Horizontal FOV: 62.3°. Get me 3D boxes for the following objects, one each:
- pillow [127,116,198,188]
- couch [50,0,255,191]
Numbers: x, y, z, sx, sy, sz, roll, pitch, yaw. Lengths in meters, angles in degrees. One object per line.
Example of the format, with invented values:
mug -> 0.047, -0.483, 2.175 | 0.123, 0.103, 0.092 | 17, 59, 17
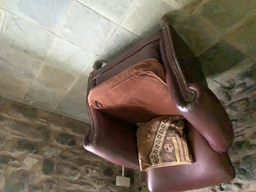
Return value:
pillow -> 0.210, 0.350, 1.400 | 0.160, 0.340, 0.370 | 20, 176, -35
couch -> 0.190, 0.120, 1.430 | 0.850, 0.840, 0.890 | -29, 135, 36
